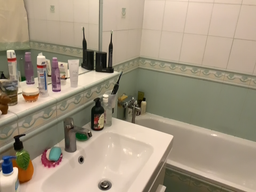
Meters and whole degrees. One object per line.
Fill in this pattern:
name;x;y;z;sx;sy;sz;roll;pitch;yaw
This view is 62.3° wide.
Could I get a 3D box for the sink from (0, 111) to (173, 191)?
sink;-0.140;0.330;0.980;0.480;0.130;0.810;14;23;22
